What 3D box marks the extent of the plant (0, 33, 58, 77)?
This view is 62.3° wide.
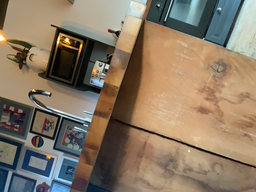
[{"bbox_3d":[-1.230,-0.480,2.570,0.300,0.590,0.330,-95,24,-83],"label":"plant"}]
